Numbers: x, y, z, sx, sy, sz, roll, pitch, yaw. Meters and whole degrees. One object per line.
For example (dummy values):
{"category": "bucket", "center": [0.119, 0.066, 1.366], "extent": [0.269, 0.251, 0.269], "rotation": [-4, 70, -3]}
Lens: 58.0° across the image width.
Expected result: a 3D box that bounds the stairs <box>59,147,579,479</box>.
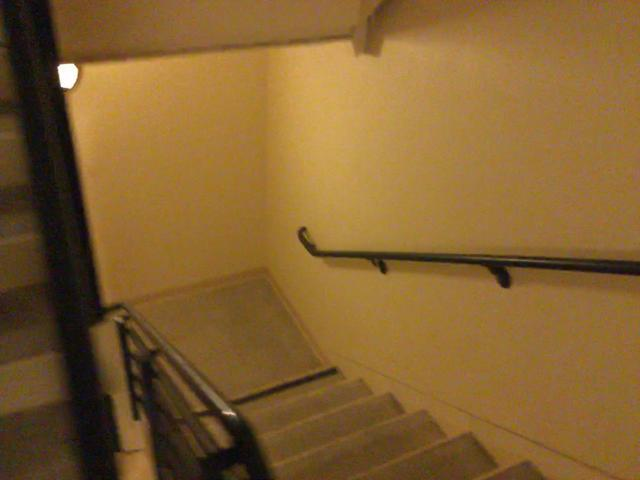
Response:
{"category": "stairs", "center": [-0.280, 0.780, 2.690], "extent": [1.340, 1.340, 2.290], "rotation": [-11, 41, -22]}
